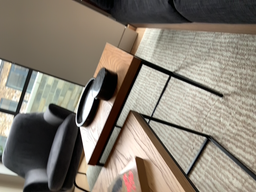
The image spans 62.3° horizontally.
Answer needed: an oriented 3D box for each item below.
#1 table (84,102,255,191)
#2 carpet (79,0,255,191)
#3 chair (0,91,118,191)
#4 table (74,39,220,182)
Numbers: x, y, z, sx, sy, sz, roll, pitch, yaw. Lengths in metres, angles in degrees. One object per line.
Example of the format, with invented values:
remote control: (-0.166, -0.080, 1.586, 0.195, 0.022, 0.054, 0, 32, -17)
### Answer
table: (0.140, 0.360, 0.710, 0.440, 0.400, 0.470, -66, 24, 13)
carpet: (0.240, 0.360, 0.960, 1.800, 0.030, 2.520, -68, 24, 8)
chair: (-0.670, 0.480, 1.890, 0.750, 0.800, 0.710, -21, 54, 61)
table: (0.040, 0.050, 1.100, 0.500, 0.450, 0.470, -66, 24, 11)
